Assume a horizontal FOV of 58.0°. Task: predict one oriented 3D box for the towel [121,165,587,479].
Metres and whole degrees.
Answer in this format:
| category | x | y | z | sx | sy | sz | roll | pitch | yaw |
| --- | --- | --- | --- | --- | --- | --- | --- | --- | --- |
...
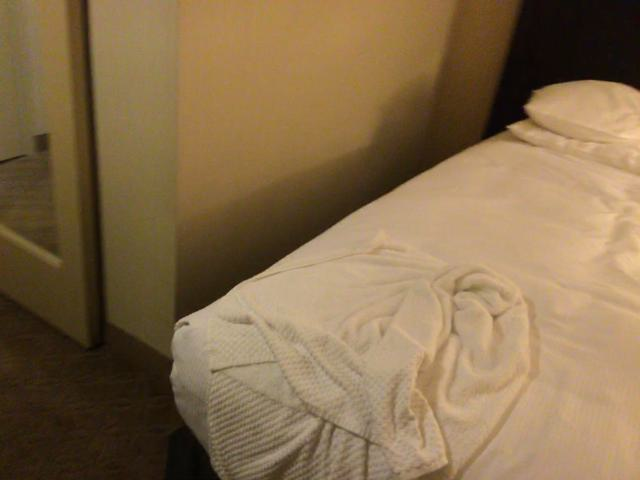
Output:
| category | x | y | z | sx | sy | sz | roll | pitch | yaw |
| --- | --- | --- | --- | --- | --- | --- | --- | --- | --- |
| towel | 0.080 | 0.200 | 0.990 | 0.500 | 0.190 | 0.600 | 23 | 57 | 26 |
